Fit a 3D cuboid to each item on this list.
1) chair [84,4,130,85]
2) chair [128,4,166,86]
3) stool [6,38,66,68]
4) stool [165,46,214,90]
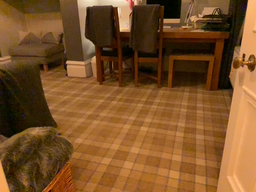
[{"bbox_3d":[-0.260,-0.740,3.020,0.410,1.030,0.500,7,24,19],"label":"chair"},{"bbox_3d":[0.270,-0.700,2.900,0.400,1.010,0.460,5,23,15],"label":"chair"},{"bbox_3d":[-1.740,-0.850,4.070,0.790,0.430,0.610,6,24,18],"label":"stool"},{"bbox_3d":[0.880,-0.420,3.000,0.580,0.450,0.540,7,24,19],"label":"stool"}]
